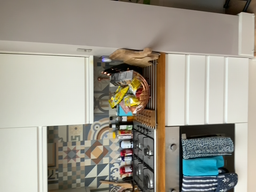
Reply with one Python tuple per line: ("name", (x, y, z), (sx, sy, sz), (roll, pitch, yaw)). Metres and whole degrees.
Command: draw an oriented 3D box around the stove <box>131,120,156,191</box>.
("stove", (0.110, 0.490, 1.700), (0.490, 0.020, 0.540), (-178, 88, -73))
